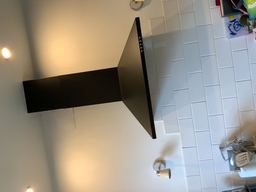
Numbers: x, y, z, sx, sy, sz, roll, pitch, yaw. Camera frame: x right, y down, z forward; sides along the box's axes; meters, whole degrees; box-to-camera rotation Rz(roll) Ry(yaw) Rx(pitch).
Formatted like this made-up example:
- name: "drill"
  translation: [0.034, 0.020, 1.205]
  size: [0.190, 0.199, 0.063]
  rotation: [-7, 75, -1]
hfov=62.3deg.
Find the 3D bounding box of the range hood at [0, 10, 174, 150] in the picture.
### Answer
- name: "range hood"
  translation: [-0.250, -0.070, 1.300]
  size: [0.440, 0.930, 0.590]
  rotation: [-21, -76, -84]
